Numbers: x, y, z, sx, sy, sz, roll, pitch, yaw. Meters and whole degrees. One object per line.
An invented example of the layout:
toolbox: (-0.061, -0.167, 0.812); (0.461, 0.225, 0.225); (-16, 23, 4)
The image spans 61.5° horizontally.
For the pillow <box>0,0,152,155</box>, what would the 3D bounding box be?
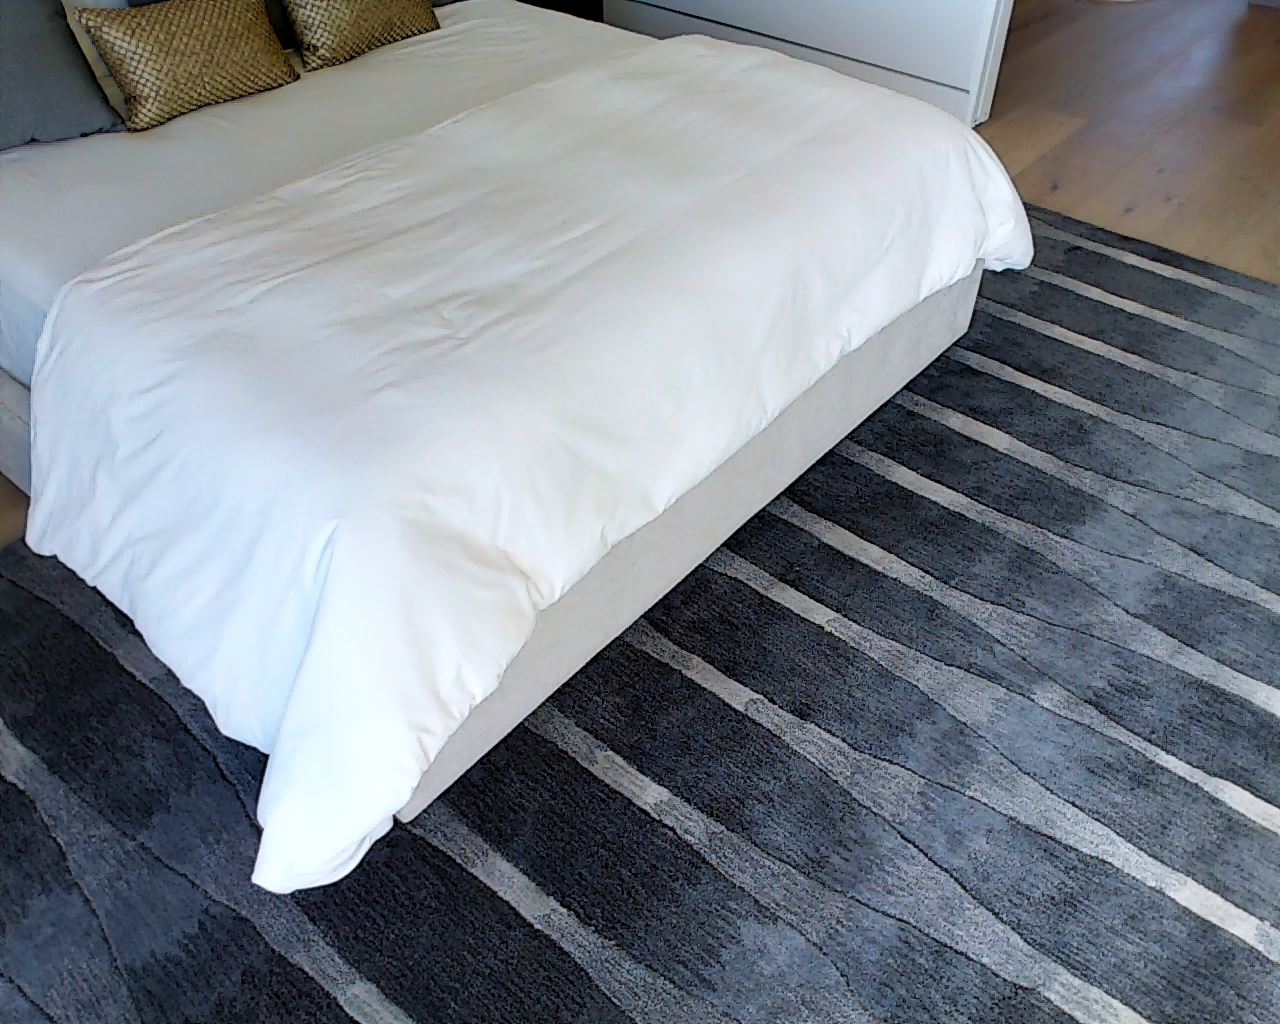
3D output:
pillow: (-1.410, -1.010, 2.280); (0.520, 0.350, 0.410); (-24, 48, -25)

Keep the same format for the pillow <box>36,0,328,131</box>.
pillow: (-1.050, -1.120, 2.490); (0.350, 0.240, 0.480); (30, 49, 28)
